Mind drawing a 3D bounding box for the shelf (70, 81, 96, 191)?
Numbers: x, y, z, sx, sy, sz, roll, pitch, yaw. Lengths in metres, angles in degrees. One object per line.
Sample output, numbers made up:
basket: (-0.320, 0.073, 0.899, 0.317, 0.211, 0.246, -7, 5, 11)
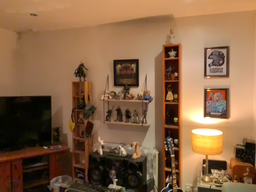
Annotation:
shelf: (-0.610, 0.590, 2.900, 0.270, 1.590, 0.190, 1, 3, 20)

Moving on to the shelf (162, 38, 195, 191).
shelf: (0.580, 0.400, 2.450, 0.310, 2.030, 0.260, 1, 3, 20)
